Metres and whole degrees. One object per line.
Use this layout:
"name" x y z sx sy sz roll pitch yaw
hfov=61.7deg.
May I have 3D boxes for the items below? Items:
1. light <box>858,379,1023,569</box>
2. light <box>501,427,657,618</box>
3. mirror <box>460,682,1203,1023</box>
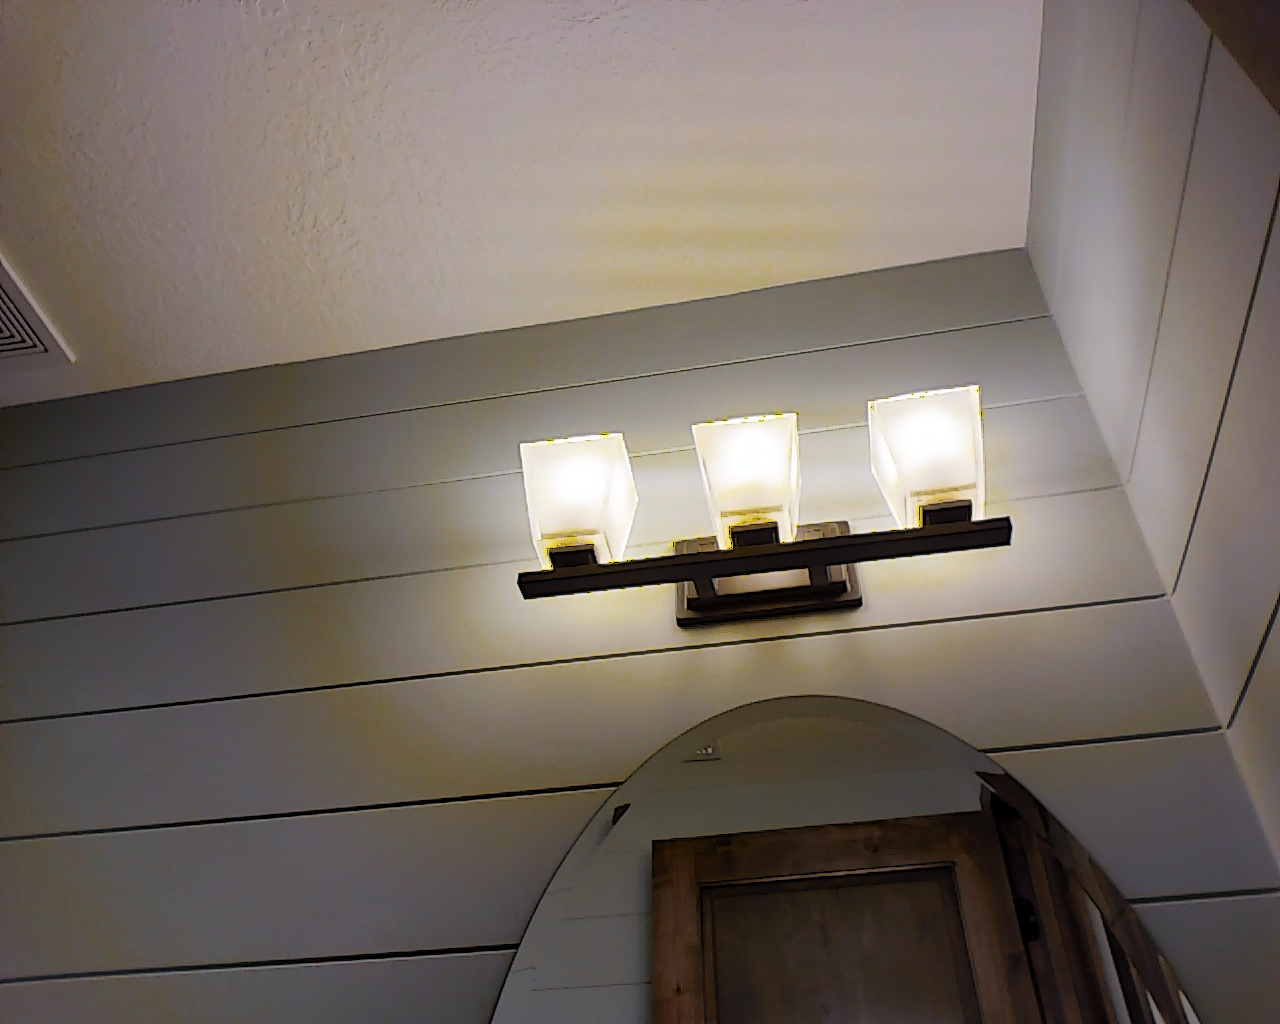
"light" 0.300 -0.040 1.090 0.130 0.160 0.090 -7 -43 8
"light" -0.060 0.010 1.140 0.140 0.170 0.090 -7 -43 8
"mirror" 0.140 0.530 0.790 0.600 0.870 0.020 -7 -43 8
